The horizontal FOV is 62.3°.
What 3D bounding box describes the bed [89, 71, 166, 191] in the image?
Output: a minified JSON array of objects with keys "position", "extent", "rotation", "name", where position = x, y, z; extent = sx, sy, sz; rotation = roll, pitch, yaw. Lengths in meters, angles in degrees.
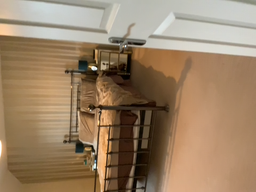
[{"position":[-0.210,0.540,3.660],"extent":[2.140,0.670,1.550],"rotation":[-133,46,-68],"name":"bed"}]
